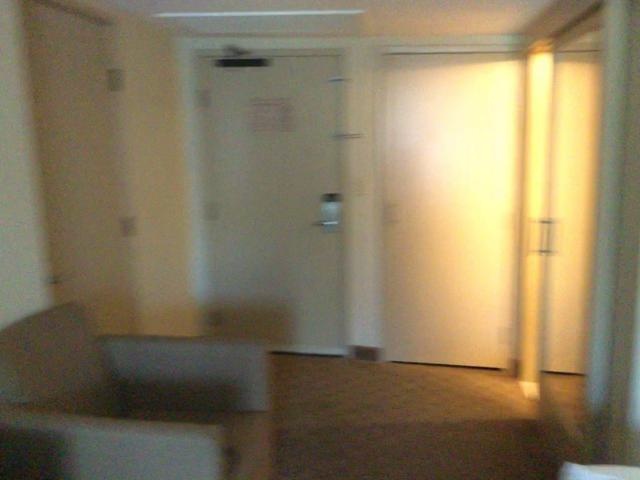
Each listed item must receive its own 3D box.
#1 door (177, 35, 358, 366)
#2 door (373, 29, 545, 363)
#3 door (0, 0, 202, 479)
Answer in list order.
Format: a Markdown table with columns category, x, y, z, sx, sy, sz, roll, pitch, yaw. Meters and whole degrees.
| category | x | y | z | sx | sy | sz | roll | pitch | yaw |
| --- | --- | --- | --- | --- | --- | --- | --- | --- | --- |
| door | -0.320 | -0.230 | 3.760 | 1.100 | 2.050 | 0.250 | 1 | 9 | 6 |
| door | 0.790 | -0.240 | 3.490 | 0.900 | 1.900 | 0.310 | 1 | 9 | 6 |
| door | -0.990 | -0.100 | 3.040 | 0.140 | 2.090 | 1.740 | 1 | 9 | 6 |
